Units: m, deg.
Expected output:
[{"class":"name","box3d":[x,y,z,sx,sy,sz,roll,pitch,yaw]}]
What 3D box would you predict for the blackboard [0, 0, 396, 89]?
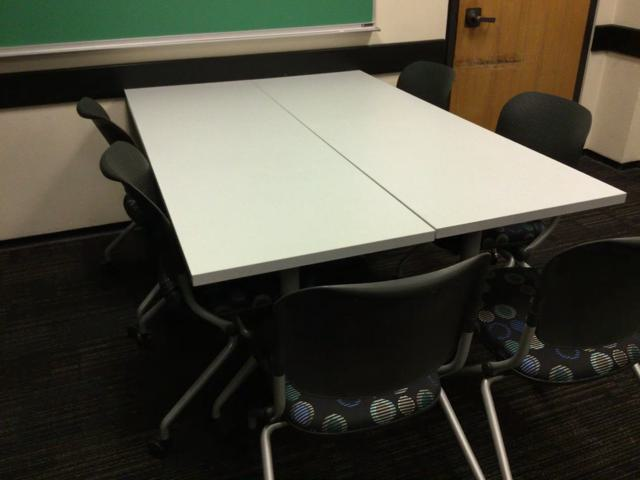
[{"class":"blackboard","box3d":[-1.310,-1.020,2.360,3.470,0.740,0.250,-9,27,-17]}]
